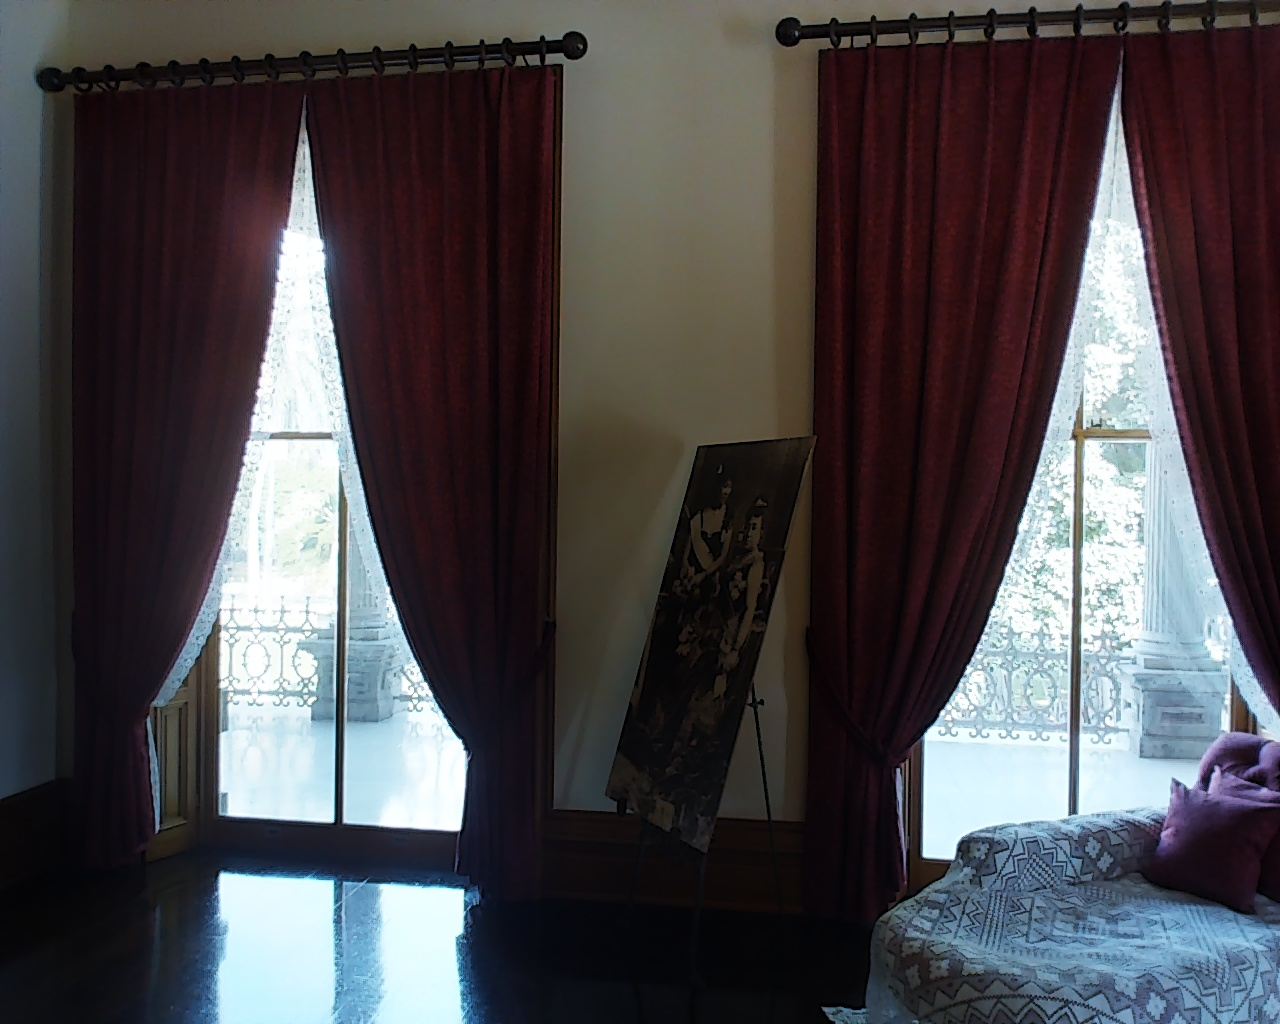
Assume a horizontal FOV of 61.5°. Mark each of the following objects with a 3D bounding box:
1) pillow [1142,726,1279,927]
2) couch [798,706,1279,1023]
[{"bbox_3d":[1.920,1.010,3.430,0.350,0.490,0.380,18,-33,-18],"label":"pillow"},{"bbox_3d":[1.580,1.110,3.240,1.970,0.750,0.950,0,1,-23],"label":"couch"}]
